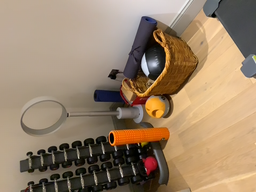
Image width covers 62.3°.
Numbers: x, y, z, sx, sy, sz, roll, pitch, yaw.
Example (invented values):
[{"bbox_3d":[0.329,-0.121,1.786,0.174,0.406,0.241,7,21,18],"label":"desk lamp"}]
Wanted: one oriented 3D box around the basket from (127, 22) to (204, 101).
[{"bbox_3d":[0.330,-0.310,2.090,0.560,0.350,0.490,-51,47,45],"label":"basket"}]
